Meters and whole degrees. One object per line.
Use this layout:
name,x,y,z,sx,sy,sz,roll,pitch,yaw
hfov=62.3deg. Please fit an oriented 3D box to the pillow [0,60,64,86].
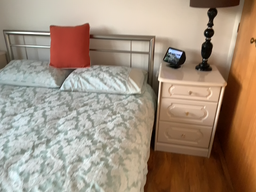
pillow,-0.960,-0.230,2.010,0.580,0.100,0.340,6,25,11

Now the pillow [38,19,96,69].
pillow,-0.560,-0.490,2.020,0.400,0.420,0.180,4,47,9

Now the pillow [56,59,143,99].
pillow,-0.230,-0.180,1.940,0.660,0.170,0.450,6,25,11
